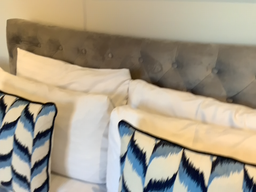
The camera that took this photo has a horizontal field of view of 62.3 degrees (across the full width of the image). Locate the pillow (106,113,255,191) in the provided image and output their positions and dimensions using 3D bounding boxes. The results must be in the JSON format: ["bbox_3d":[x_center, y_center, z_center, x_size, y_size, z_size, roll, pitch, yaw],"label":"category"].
[{"bbox_3d":[0.150,0.310,0.540,0.380,0.410,0.180,14,21,25],"label":"pillow"}]

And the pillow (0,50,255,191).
[{"bbox_3d":[-0.030,0.150,0.850,1.360,0.450,0.340,13,28,25],"label":"pillow"}]

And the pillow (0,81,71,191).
[{"bbox_3d":[-0.460,0.170,0.800,0.400,0.380,0.170,15,10,21],"label":"pillow"}]
